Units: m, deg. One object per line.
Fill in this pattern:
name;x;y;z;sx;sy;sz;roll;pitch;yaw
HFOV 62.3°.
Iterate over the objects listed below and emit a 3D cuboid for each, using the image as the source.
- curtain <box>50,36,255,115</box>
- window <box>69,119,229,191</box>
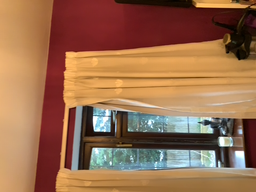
curtain;0.230;-0.140;1.450;0.160;1.430;0.500;86;-175;-76
window;0.160;0.560;1.700;0.080;1.220;0.720;86;-175;-76
